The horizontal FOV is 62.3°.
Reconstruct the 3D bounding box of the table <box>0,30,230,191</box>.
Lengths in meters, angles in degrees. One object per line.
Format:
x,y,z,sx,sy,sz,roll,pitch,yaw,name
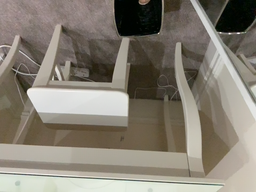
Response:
-0.180,0.120,1.110,1.010,0.760,0.530,1,142,0,table
